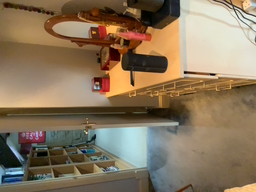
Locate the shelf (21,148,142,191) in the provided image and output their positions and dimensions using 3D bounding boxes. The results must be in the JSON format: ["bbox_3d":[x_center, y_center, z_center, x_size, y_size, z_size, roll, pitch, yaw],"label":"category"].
[{"bbox_3d":[-0.960,1.310,3.750,2.320,1.530,0.410,164,106,-66],"label":"shelf"}]
